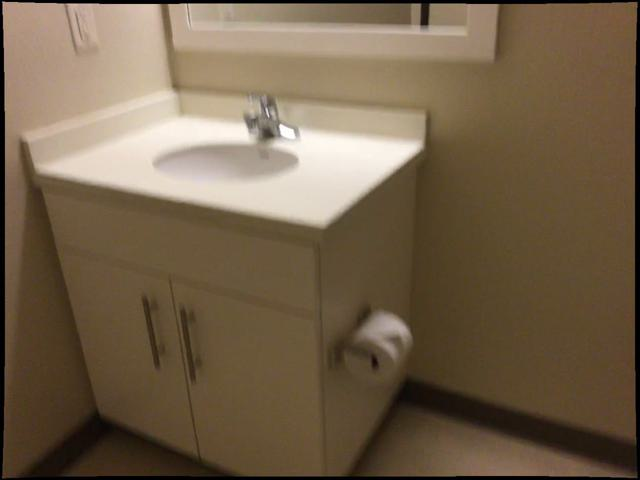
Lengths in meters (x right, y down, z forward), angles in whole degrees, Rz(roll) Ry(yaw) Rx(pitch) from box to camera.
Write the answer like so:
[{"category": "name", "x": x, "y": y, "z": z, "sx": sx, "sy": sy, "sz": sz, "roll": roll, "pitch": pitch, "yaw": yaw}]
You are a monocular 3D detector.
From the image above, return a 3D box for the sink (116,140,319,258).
[{"category": "sink", "x": -0.239, "y": -0.120, "z": 1.430, "sx": 0.369, "sy": 0.150, "sz": 0.320, "roll": 10, "pitch": 27, "yaw": 24}]
